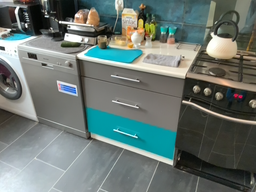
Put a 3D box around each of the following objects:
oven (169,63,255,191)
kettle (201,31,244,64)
[{"bbox_3d":[0.740,0.220,1.660,0.610,0.680,0.620,14,35,21],"label":"oven"},{"bbox_3d":[0.670,-0.350,1.500,0.240,0.130,0.250,14,34,20],"label":"kettle"}]
